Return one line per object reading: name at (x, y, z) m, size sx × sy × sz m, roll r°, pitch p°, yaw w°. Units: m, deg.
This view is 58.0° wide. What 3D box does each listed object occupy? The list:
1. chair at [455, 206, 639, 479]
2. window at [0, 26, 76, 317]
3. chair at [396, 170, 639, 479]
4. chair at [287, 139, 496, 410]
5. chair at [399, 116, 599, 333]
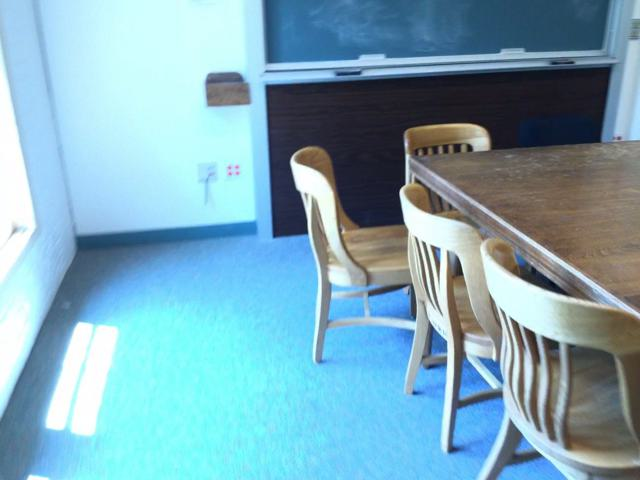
chair at (0.680, 0.430, 1.390) m, size 0.490 × 0.830 × 0.590 m, roll -7°, pitch 22°, yaw -7°
window at (-1.260, -0.330, 2.230) m, size 0.200 × 0.900 × 1.010 m, roll -7°, pitch 22°, yaw -7°
chair at (0.560, 0.260, 1.840) m, size 0.490 × 0.800 × 0.550 m, roll -7°, pitch 22°, yaw -7°
chair at (0.240, 0.090, 2.310) m, size 0.610 × 0.800 × 0.690 m, roll -7°, pitch 22°, yaw -7°
chair at (0.740, -0.100, 2.590) m, size 0.620 × 0.750 × 0.590 m, roll -7°, pitch 22°, yaw -7°
